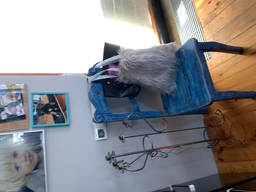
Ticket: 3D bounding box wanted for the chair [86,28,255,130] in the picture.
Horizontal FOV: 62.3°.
[{"bbox_3d":[0.290,-0.080,1.450,0.540,0.990,0.410,-37,60,59],"label":"chair"}]
